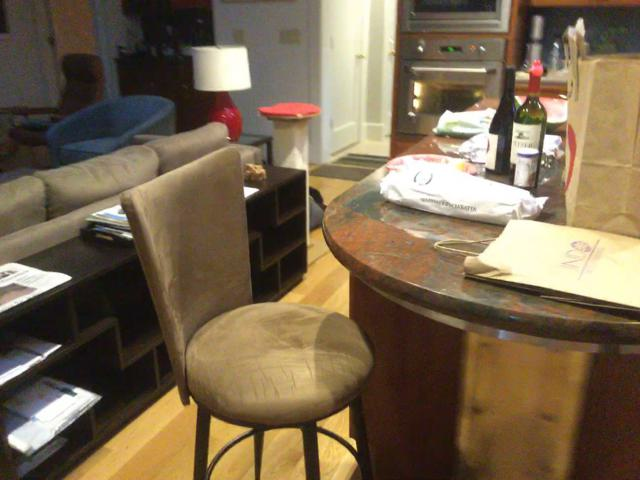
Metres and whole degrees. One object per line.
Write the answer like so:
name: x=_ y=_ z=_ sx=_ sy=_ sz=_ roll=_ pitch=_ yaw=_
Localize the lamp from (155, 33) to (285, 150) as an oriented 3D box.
lamp: x=-0.540 y=-0.860 z=3.270 sx=0.450 sy=0.560 sz=0.530 roll=10 pitch=25 yaw=26
